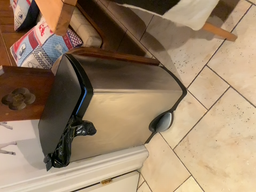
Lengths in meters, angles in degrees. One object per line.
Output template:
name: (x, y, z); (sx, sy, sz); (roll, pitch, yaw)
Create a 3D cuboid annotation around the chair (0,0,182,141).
chair: (-0.910, -1.040, 1.860); (2.990, 0.900, 0.610); (54, 126, 32)
